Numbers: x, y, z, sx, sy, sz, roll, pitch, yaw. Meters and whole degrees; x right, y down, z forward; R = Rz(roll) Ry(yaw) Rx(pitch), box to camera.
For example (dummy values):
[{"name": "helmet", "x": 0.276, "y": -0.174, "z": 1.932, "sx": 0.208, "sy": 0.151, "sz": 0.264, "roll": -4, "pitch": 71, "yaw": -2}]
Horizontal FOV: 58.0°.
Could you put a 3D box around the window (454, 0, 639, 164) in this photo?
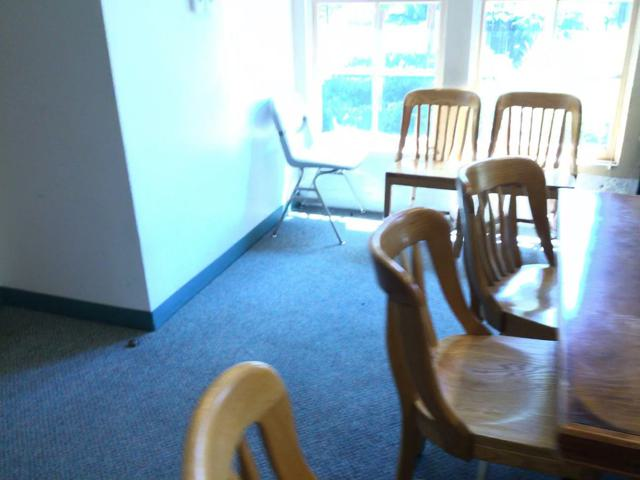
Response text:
[{"name": "window", "x": 1.340, "y": -1.020, "z": 3.090, "sx": 1.140, "sy": 1.150, "sz": 0.290, "roll": 6, "pitch": 23, "yaw": 21}]

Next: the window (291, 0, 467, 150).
[{"name": "window", "x": 0.360, "y": -1.130, "z": 3.530, "sx": 0.980, "sy": 1.070, "sz": 0.330, "roll": 6, "pitch": 23, "yaw": 21}]
